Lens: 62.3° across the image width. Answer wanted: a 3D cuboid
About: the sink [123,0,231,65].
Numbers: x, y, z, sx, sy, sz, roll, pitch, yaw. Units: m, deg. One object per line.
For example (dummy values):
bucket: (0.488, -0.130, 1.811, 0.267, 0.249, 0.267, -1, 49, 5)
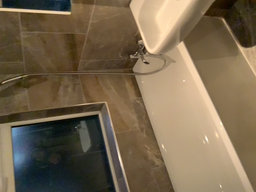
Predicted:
sink: (0.210, -0.490, 1.070, 0.540, 0.210, 0.420, 128, 131, -56)
